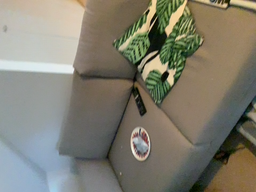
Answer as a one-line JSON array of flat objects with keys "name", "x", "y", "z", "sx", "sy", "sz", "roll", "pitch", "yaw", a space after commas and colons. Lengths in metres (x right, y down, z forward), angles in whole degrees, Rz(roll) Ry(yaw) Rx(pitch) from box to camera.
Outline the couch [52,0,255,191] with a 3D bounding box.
[{"name": "couch", "x": 0.110, "y": -0.010, "z": 1.300, "sx": 0.890, "sy": 0.760, "sz": 1.610, "roll": 53, "pitch": 133, "yaw": 44}]
